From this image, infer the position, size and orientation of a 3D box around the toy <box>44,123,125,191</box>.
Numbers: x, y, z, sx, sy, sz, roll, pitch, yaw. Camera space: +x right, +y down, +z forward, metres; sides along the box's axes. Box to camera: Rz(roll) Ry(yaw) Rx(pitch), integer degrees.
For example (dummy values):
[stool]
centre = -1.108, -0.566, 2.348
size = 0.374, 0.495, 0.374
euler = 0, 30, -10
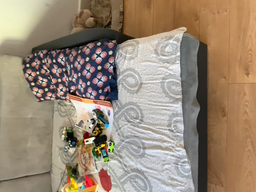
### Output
[toy]
centre = -0.360, 0.570, 1.560
size = 0.780, 0.140, 0.660
euler = 0, 89, 42
